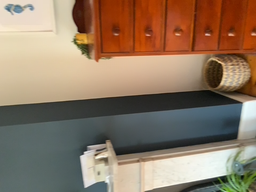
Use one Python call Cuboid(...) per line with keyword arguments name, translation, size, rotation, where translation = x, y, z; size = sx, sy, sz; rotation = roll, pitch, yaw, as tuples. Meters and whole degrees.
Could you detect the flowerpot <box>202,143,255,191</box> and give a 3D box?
Cuboid(name="flowerpot", translation=(0.820, 0.640, 1.540), size=(0.470, 0.300, 0.390), rotation=(-142, 49, -70))
